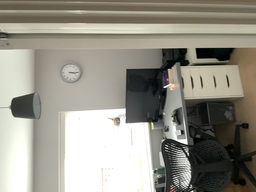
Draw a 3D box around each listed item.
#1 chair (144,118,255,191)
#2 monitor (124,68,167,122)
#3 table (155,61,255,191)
[{"bbox_3d":[0.760,0.630,2.130,0.690,1.030,0.700,125,142,-76],"label":"chair"},{"bbox_3d":[0.200,0.000,2.610,0.070,0.480,0.680,-109,18,-62],"label":"monitor"},{"bbox_3d":[0.850,0.450,2.490,0.790,0.730,1.510,122,145,-75],"label":"table"}]
